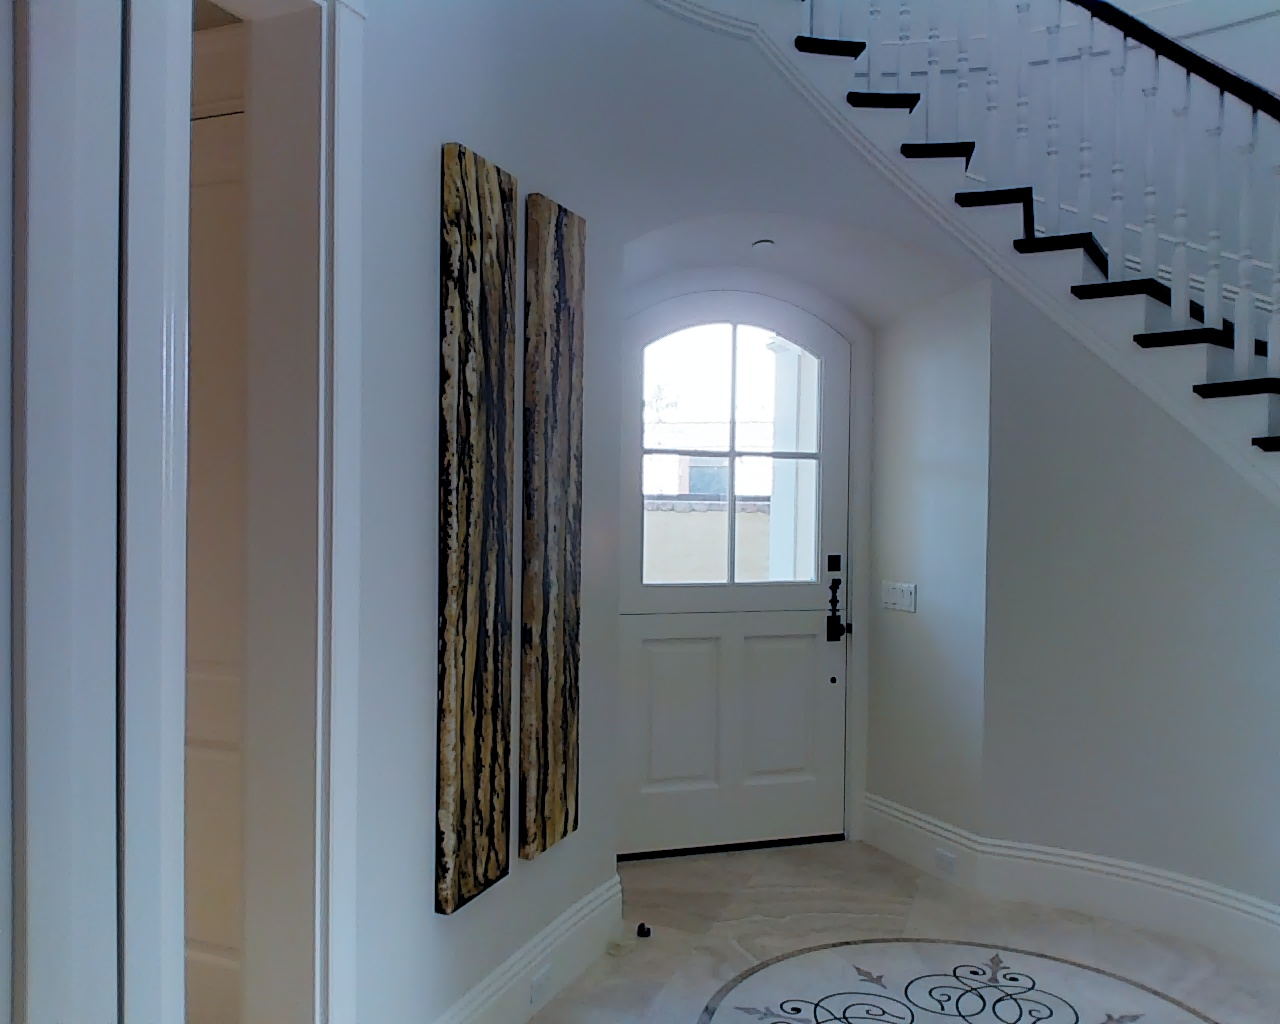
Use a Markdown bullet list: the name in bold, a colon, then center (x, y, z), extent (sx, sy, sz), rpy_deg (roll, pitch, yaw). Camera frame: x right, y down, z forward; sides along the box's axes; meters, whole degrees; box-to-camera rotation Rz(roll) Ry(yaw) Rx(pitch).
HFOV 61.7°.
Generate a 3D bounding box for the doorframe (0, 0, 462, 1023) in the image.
- **doorframe**: center (-0.830, 0.030, 1.870), extent (0.280, 2.851, 1.450), rpy_deg (1, 1, 22)
